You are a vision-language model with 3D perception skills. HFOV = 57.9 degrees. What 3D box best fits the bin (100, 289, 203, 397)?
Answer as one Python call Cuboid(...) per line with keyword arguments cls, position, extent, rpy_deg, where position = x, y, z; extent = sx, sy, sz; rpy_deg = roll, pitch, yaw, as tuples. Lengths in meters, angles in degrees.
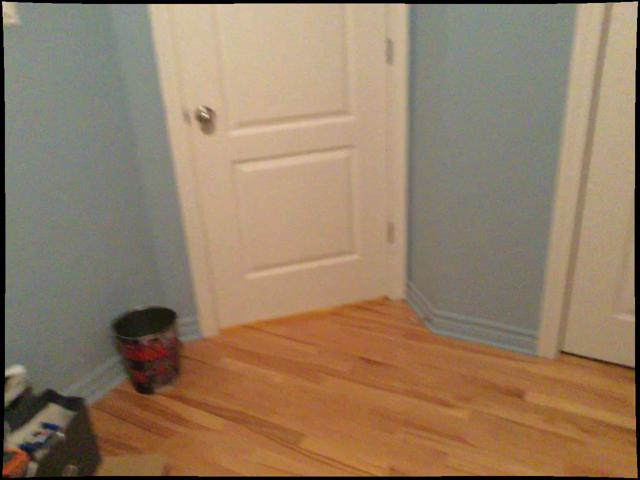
Cuboid(cls="bin", position=(-0.609, 0.370, 2.120), extent=(0.230, 0.260, 0.230), rpy_deg=(10, 29, 26))
